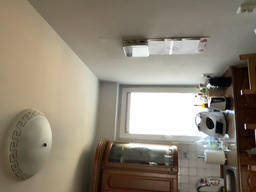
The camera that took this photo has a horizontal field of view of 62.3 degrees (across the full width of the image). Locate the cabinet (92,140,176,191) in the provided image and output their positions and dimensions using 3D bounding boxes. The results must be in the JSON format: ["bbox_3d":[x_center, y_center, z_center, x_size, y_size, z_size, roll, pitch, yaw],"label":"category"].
[{"bbox_3d":[0.080,1.220,2.650,0.320,1.000,1.240,58,-146,-74],"label":"cabinet"}]

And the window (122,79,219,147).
[{"bbox_3d":[0.610,0.230,3.150,0.230,1.320,0.940,53,-141,-75],"label":"window"}]
